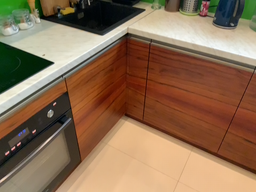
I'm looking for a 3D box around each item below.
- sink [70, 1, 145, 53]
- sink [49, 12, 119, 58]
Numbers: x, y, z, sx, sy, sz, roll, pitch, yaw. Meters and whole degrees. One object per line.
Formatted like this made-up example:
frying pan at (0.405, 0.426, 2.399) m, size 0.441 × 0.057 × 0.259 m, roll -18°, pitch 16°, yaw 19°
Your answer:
sink at (-0.150, -0.550, 1.630) m, size 0.420 × 0.200 × 0.360 m, roll 22°, pitch 43°, yaw 23°
sink at (-0.290, -0.420, 1.420) m, size 0.420 × 0.150 × 0.200 m, roll 22°, pitch 43°, yaw 23°
